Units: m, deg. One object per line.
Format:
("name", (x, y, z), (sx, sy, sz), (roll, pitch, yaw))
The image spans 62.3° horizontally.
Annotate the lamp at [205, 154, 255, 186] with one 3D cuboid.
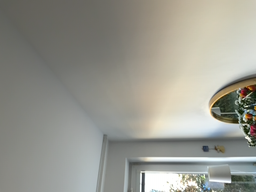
("lamp", (1.030, 0.710, 2.060), (0.220, 0.500, 0.190), (-62, -33, -69))
